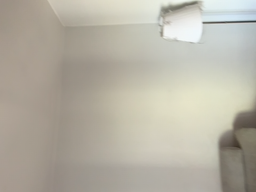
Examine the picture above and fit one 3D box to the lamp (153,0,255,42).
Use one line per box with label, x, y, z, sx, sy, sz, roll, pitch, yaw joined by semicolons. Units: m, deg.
lamp;1.110;-0.730;2.030;0.390;1.690;0.270;63;-154;-85
